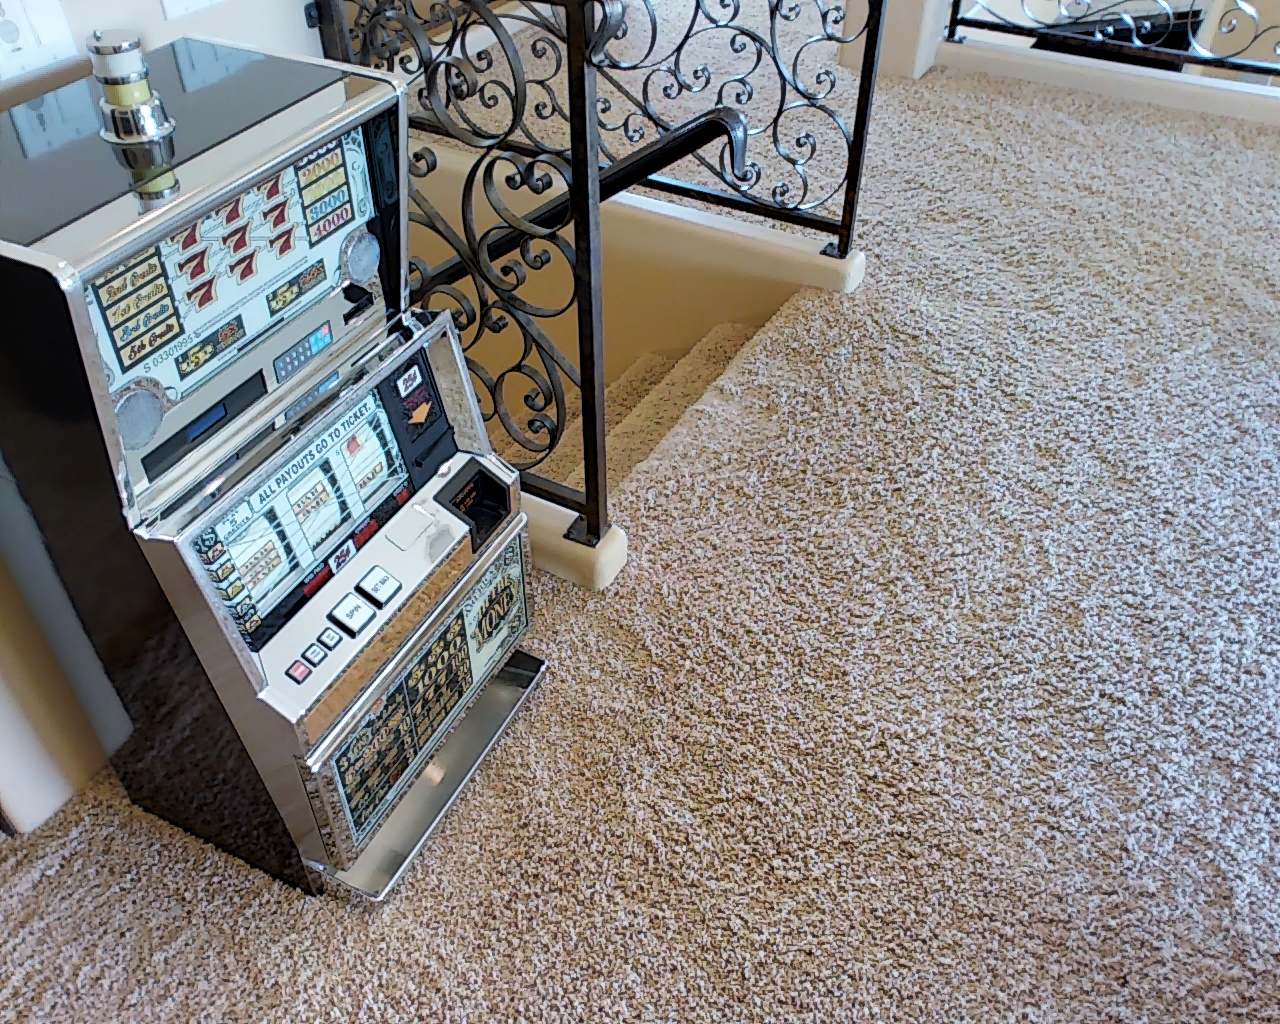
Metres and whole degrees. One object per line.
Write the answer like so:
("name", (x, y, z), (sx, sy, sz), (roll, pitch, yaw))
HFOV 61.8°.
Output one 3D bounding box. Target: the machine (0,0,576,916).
("machine", (-0.520, -0.100, 1.500), (0.590, 1.170, 0.580), (21, 46, 22))
